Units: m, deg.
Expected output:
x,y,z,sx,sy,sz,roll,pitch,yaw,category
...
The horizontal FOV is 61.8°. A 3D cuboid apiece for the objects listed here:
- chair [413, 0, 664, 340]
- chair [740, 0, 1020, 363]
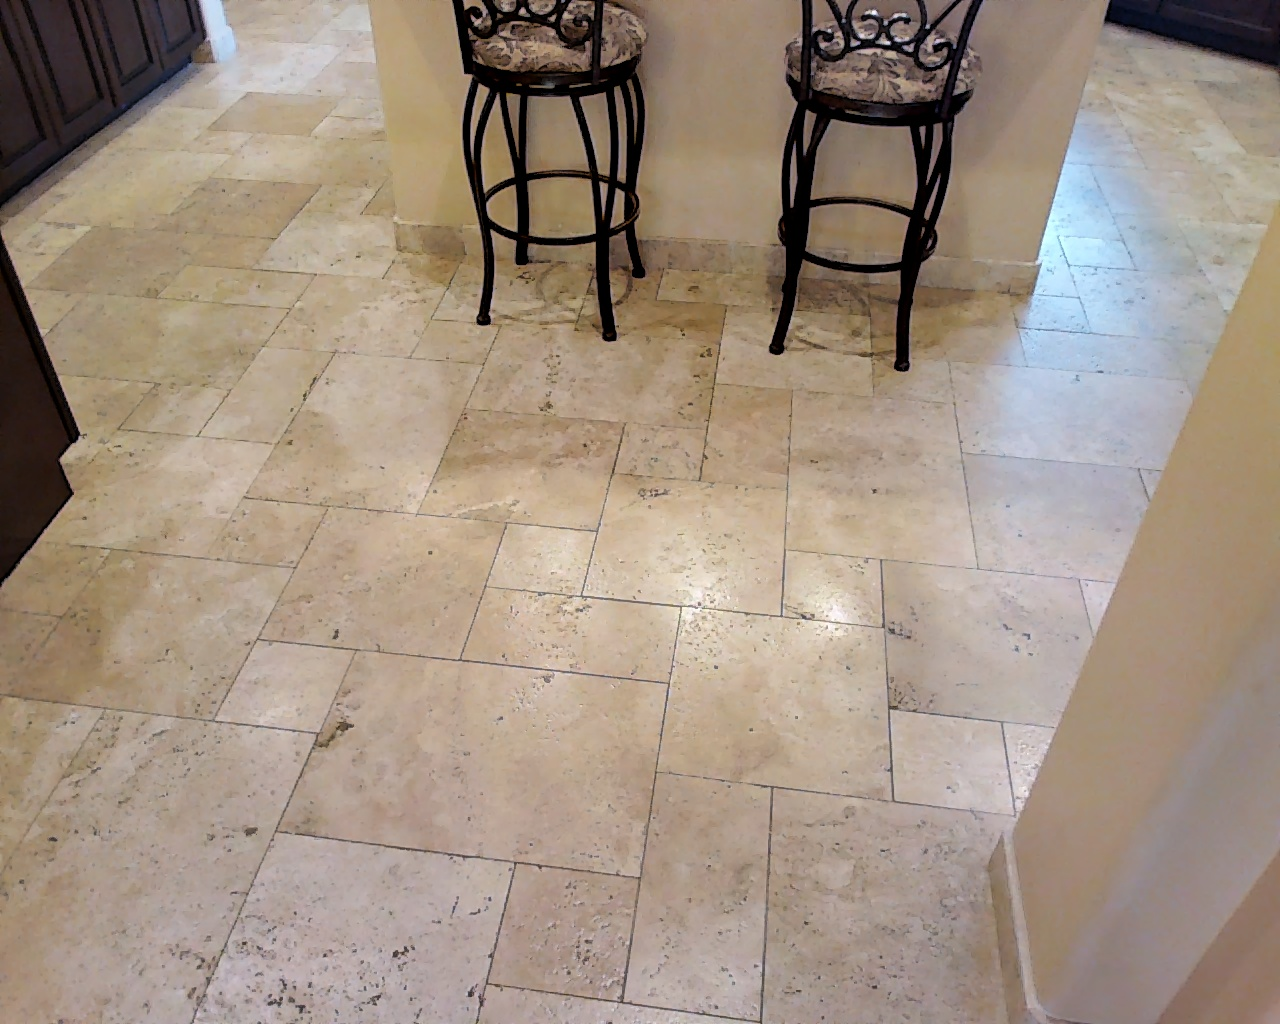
x,y,z,sx,sy,sz,roll,pitch,yaw,category
-0.220,-1.120,2.730,0.500,1.170,0.600,5,41,5,chair
0.550,-1.010,2.600,0.510,1.140,0.540,5,41,5,chair
